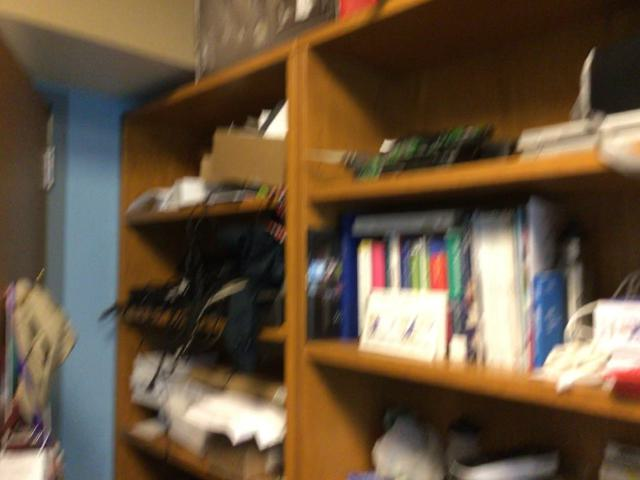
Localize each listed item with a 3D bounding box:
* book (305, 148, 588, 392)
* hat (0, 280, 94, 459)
[{"bbox_3d":[0.240,0.070,1.170,0.290,0.380,0.470,7,-8,-43],"label":"book"},{"bbox_3d":[-0.640,0.280,1.320,0.170,0.370,0.130,8,-8,-44],"label":"hat"}]
